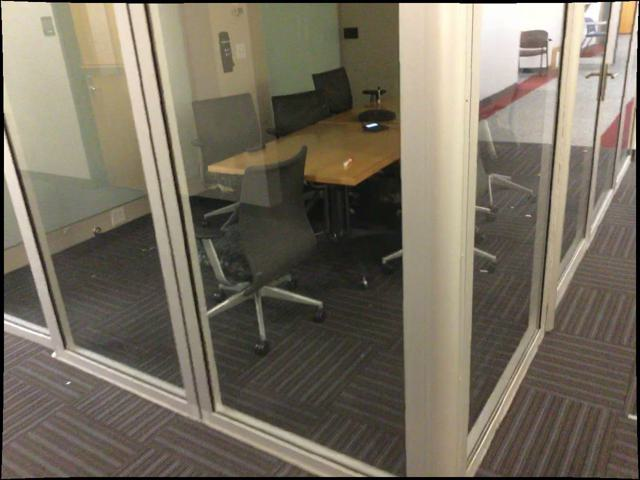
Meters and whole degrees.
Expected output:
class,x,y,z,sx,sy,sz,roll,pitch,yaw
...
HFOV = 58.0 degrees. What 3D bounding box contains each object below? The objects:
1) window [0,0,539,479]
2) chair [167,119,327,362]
class,x,y,z,sx,sy,sz,roll,pitch,yaw
window,-0.489,-0.050,2.060,2.207,1.643,0.450,15,35,31
chair,-0.329,-0.010,2.760,0.569,0.922,0.580,-9,30,-6
